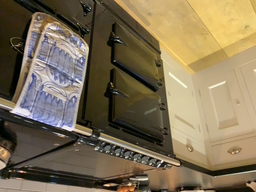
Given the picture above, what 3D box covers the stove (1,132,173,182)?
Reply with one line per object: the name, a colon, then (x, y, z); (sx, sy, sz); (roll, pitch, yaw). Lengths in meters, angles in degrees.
stove: (-0.220, 0.380, 1.160); (0.690, 0.030, 0.630); (-25, 142, 35)
